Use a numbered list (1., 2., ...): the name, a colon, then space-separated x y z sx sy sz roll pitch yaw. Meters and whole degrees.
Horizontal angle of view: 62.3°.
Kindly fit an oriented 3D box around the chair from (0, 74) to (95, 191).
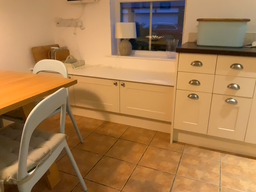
1. chair: -0.540 0.340 1.170 0.530 0.790 0.470 6 20 15
